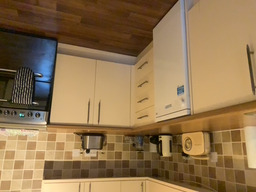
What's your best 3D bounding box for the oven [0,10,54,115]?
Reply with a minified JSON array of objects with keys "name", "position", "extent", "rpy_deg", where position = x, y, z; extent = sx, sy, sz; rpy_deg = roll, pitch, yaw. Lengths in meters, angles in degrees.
[{"name":"oven","position":[-1.070,-0.260,2.020],"extent":[0.600,0.760,0.670],"rpy_deg":[6,165,-20]}]
